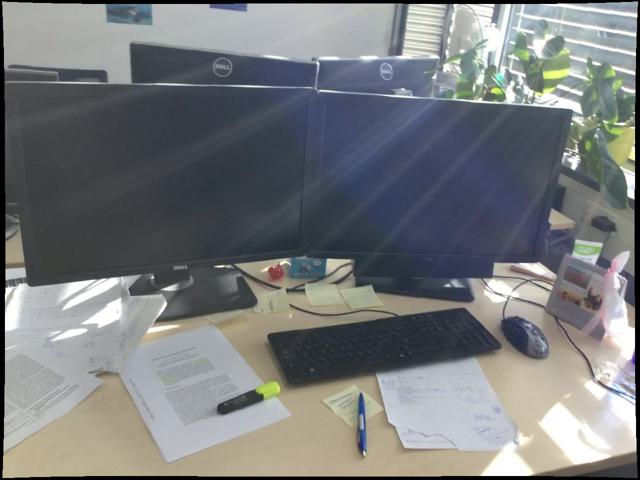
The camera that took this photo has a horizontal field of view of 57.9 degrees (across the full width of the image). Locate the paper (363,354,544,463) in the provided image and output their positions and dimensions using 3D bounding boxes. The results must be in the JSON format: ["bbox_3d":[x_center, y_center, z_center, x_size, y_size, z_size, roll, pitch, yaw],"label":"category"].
[{"bbox_3d":[0.220,0.280,1.000,0.240,0.010,0.220,-2,28,-13],"label":"paper"}]

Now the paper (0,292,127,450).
[{"bbox_3d":[-0.499,0.210,0.970,0.320,0.050,0.320,-5,29,-18],"label":"paper"}]

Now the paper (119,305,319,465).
[{"bbox_3d":[-0.190,0.230,1.020,0.250,0.010,0.330,-10,31,-27],"label":"paper"}]
